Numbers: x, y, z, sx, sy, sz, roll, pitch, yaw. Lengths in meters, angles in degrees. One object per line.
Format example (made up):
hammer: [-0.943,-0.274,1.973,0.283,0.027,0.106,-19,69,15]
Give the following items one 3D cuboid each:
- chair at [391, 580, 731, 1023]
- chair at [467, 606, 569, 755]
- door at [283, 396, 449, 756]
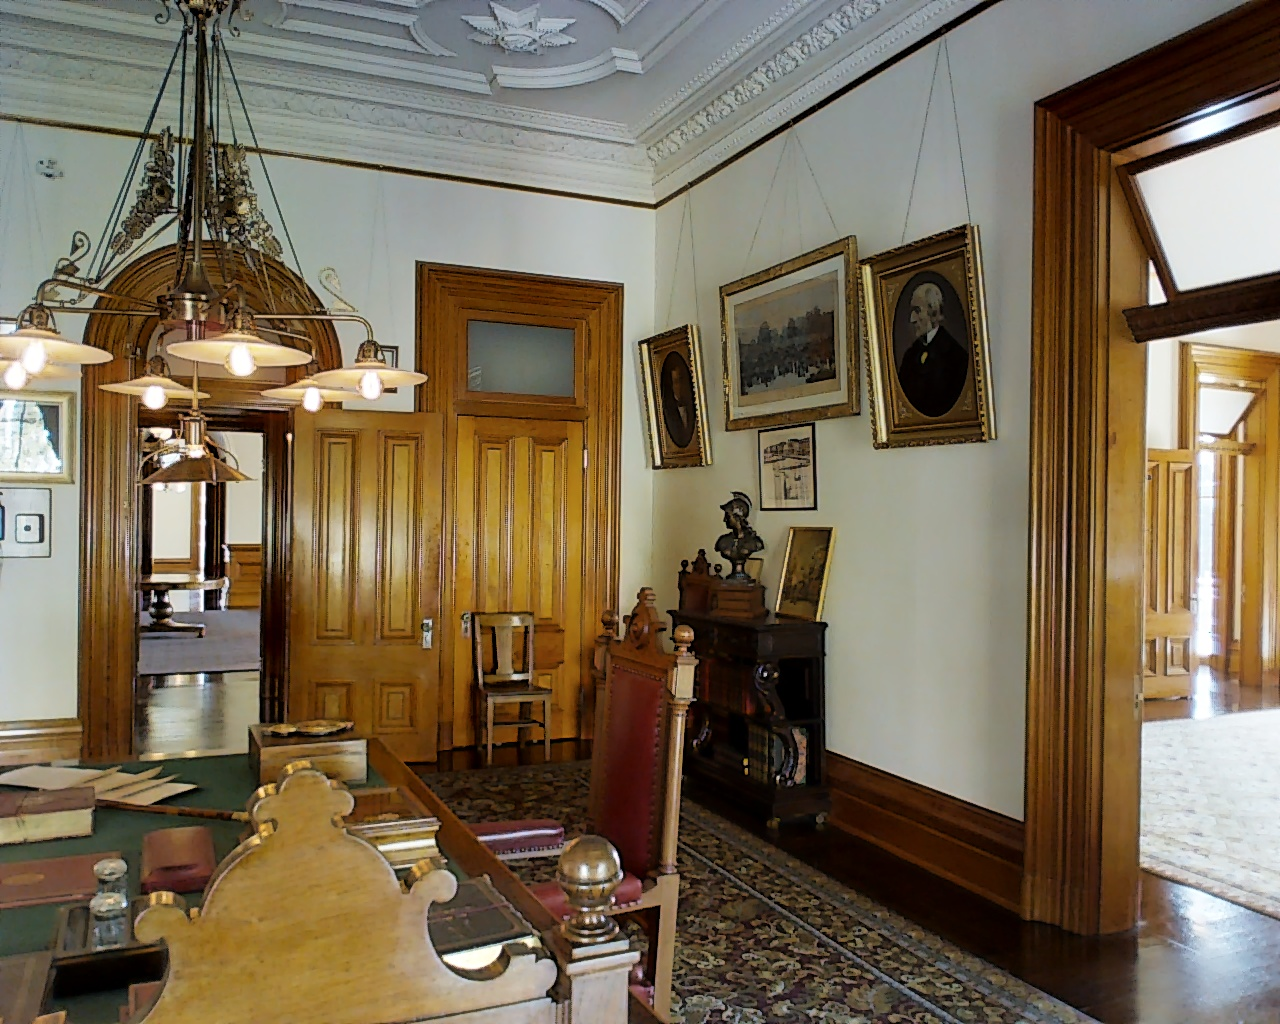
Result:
chair: [-0.230,0.860,2.790,0.690,1.320,0.650,1,0,-24]
chair: [-0.810,1.090,7.090,0.530,0.880,0.510,1,0,-24]
door: [-1.730,0.400,6.840,0.990,2.230,0.190,1,0,-10]
